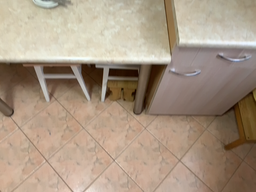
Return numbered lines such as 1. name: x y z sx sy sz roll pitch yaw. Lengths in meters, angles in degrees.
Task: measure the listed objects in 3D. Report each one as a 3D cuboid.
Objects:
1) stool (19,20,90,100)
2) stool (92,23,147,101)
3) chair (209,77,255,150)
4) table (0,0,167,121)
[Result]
1. stool: -0.440 -0.210 1.400 0.300 0.450 0.310 1 65 -3
2. stool: -0.060 -0.200 1.420 0.300 0.450 0.310 1 65 -3
3. chair: 0.810 0.140 1.270 0.410 0.530 0.250 3 65 -2
4. table: -0.380 -0.260 1.270 1.020 0.750 0.600 1 65 -3
